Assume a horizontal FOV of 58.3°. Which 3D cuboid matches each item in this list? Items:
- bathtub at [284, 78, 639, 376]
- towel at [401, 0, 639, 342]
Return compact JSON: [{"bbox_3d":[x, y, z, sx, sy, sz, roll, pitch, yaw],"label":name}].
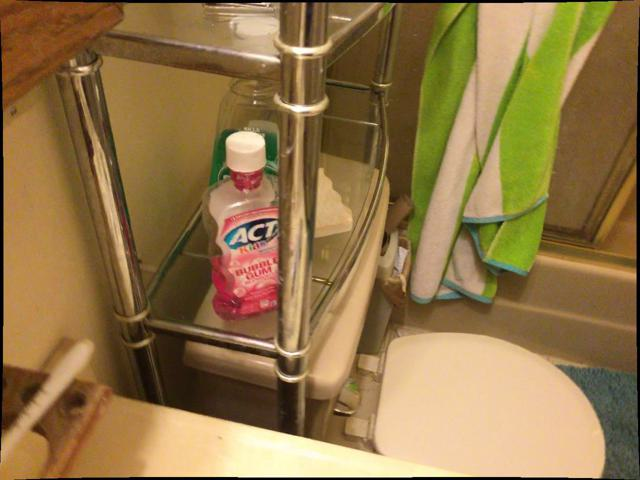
[{"bbox_3d":[0.689,-0.060,1.810,1.449,0.360,0.780,10,42,6],"label":"bathtub"},{"bbox_3d":[0.380,-0.190,1.250,0.320,0.980,0.200,7,42,10],"label":"towel"}]
